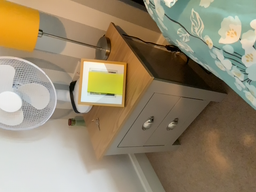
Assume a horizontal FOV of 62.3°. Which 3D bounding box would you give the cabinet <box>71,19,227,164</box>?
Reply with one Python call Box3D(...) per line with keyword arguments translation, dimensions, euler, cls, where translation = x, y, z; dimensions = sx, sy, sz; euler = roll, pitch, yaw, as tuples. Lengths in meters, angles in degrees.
Box3D(translation=(0.060, -0.010, 1.080), dimensions=(0.460, 0.480, 0.460), euler=(-60, 41, 29), cls="cabinet")
